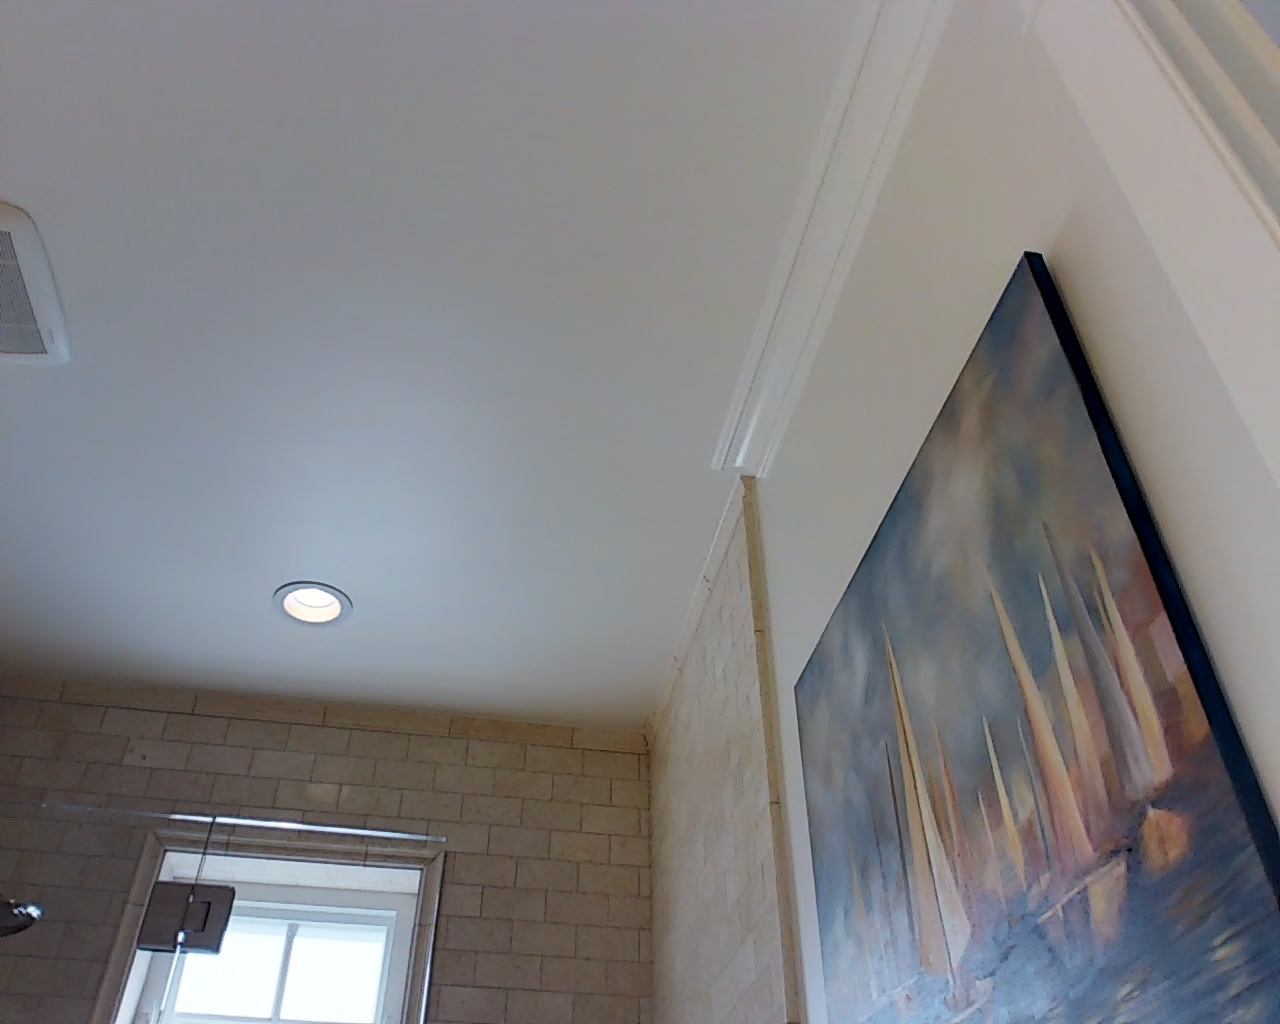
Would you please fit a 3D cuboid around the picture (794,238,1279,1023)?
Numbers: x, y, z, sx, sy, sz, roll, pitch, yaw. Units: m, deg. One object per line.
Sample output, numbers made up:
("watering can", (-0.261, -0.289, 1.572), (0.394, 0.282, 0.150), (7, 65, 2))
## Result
("picture", (0.300, 0.390, 0.930), (0.040, 1.020, 0.780), (7, -42, -7))
